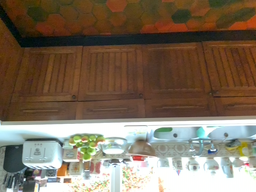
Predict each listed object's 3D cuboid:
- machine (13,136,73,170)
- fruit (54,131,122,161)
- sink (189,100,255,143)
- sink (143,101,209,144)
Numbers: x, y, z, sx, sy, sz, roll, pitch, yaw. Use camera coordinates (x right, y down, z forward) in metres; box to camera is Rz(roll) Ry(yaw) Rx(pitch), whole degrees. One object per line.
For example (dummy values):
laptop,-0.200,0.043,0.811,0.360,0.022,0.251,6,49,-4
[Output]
machine,-0.710,0.500,1.820,0.350,0.210,0.300,-4,153,6
fruit,-0.310,0.440,1.810,0.440,0.130,0.440,-6,153,9
sink,0.780,0.230,1.770,0.410,0.190,0.480,-2,153,2
sink,0.360,0.240,1.780,0.450,0.190,0.480,-2,153,2
